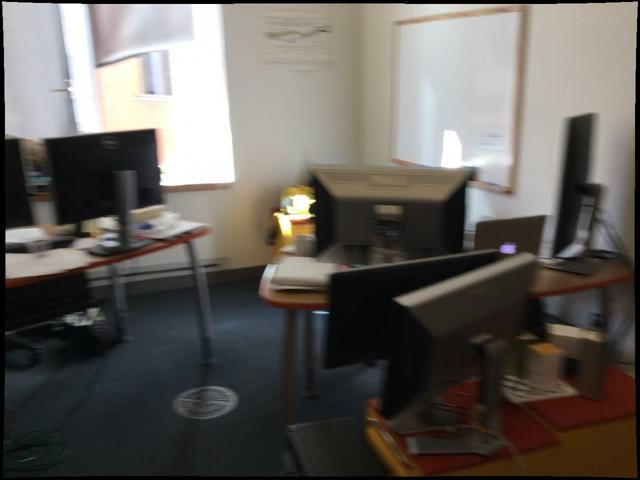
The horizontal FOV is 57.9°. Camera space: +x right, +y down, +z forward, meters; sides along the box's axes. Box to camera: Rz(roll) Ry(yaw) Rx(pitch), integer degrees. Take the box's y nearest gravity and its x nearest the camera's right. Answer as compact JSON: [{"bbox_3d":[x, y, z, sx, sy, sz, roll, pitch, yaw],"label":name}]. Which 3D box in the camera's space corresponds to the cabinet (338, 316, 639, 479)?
[{"bbox_3d":[0.629,0.701,1.910,1.009,0.581,0.510,-7,20,-22],"label":"cabinet"}]

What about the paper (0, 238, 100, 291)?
[{"bbox_3d":[-1.119,0.090,2.310,0.370,0.050,0.310,-12,23,-35],"label":"paper"}]
